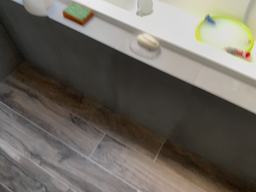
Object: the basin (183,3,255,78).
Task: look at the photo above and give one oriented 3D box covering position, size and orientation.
[{"bbox_3d":[0.530,-0.320,1.200,0.310,0.160,0.310,25,62,12],"label":"basin"}]
